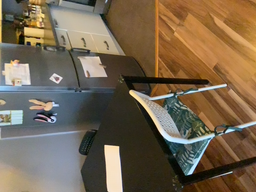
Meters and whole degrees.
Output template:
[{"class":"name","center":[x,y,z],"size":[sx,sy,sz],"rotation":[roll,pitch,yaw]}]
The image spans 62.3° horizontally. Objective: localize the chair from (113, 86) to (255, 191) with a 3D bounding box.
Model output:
[{"class":"chair","center":[0.360,0.220,1.300],"size":[0.410,0.730,0.400],"rotation":[50,132,46]}]
